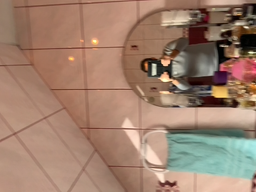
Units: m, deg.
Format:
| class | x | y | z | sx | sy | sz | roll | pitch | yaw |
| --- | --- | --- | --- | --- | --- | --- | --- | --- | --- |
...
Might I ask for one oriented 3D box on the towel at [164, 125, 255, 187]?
| class | x | y | z | sx | sy | sz | roll | pitch | yaw |
| --- | --- | --- | --- | --- | --- | --- | --- | --- | --- |
| towel | 0.480 | 0.310 | 1.120 | 0.100 | 0.560 | 0.290 | -48 | -43 | -80 |
